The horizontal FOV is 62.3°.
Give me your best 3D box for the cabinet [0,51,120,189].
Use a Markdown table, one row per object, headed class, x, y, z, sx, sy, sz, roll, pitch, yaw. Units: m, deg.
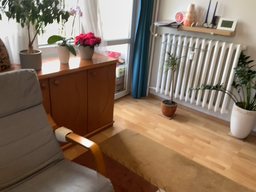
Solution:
| class | x | y | z | sx | sy | sz | roll | pitch | yaw |
| --- | --- | --- | --- | --- | --- | --- | --- | --- | --- |
| cabinet | -0.800 | 0.140 | 2.000 | 0.410 | 0.870 | 1.630 | 23 | 29 | 35 |
